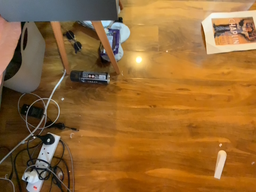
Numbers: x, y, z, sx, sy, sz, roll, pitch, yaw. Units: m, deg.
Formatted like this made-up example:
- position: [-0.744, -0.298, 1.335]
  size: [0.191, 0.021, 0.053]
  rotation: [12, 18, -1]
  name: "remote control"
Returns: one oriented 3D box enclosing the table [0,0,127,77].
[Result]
- position: [-0.170, -0.380, 0.760]
  size: [0.310, 0.590, 0.450]
  rotation: [1, 76, 1]
  name: "table"
